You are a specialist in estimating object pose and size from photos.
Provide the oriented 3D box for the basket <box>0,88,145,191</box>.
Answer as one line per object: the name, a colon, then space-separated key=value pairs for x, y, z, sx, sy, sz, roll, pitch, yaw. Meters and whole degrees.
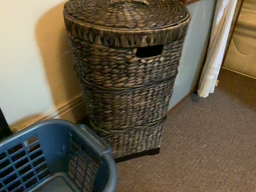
basket: x=-0.330 y=0.320 z=0.700 sx=0.420 sy=0.290 sz=0.670 roll=31 pitch=46 yaw=30

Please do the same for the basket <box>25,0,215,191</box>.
basket: x=-0.040 y=-0.060 z=0.900 sx=0.480 sy=0.640 sz=0.410 roll=31 pitch=46 yaw=31

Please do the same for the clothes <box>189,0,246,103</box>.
clothes: x=0.490 y=-0.470 z=0.990 sx=0.080 sy=1.170 sz=0.170 roll=31 pitch=46 yaw=30
